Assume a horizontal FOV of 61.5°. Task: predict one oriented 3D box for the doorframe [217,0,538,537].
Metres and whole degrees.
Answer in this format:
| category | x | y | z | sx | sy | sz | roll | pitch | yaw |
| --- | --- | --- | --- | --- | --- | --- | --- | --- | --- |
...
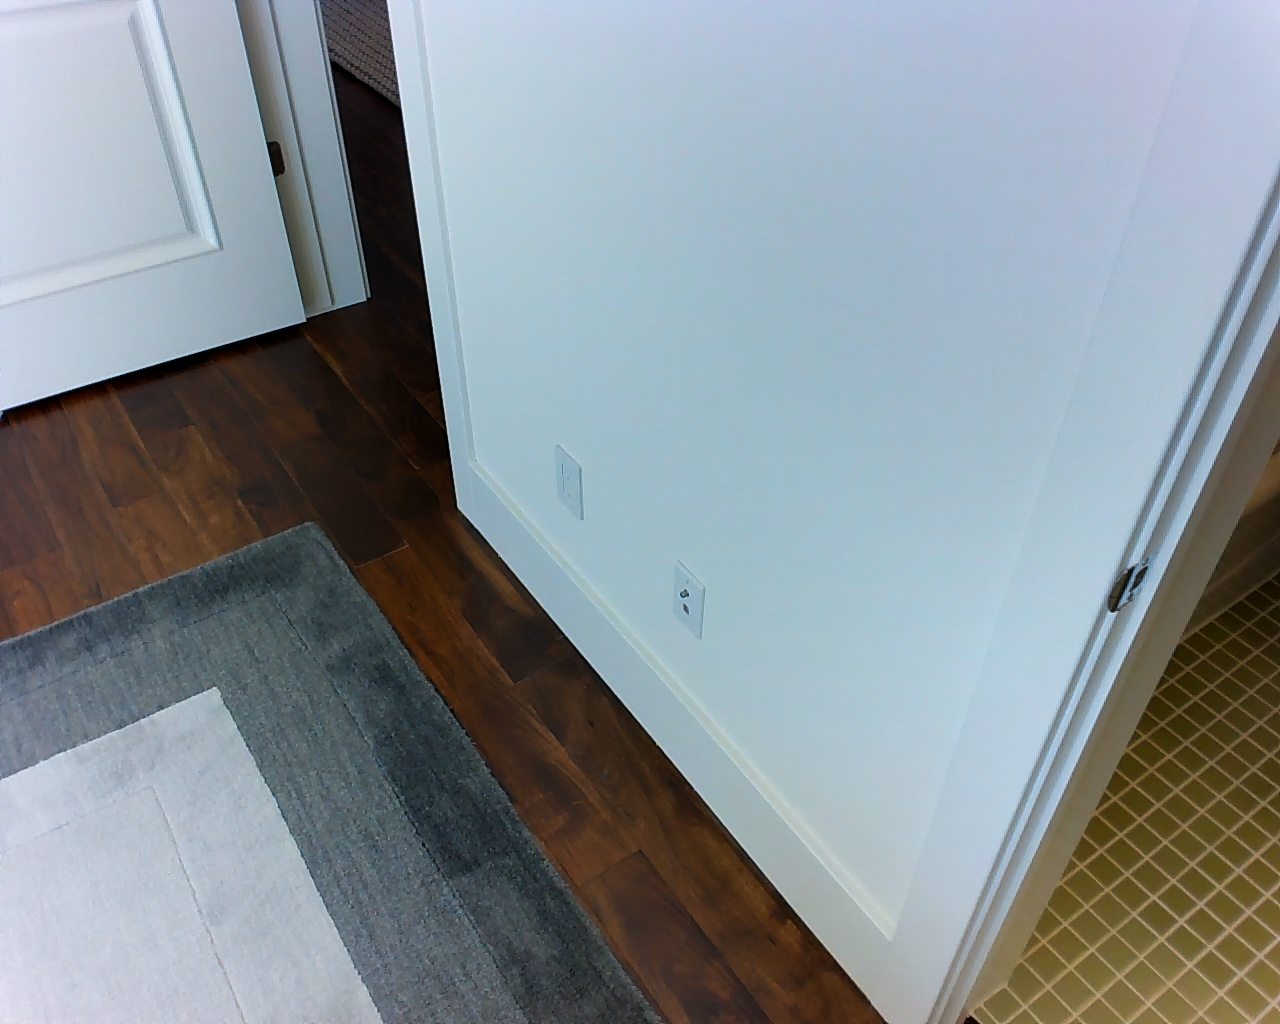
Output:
| category | x | y | z | sx | sy | sz | roll | pitch | yaw |
| --- | --- | --- | --- | --- | --- | --- | --- | --- | --- |
| doorframe | -0.600 | -1.130 | 1.970 | 0.160 | 2.310 | 1.070 | -25 | 47 | -25 |
